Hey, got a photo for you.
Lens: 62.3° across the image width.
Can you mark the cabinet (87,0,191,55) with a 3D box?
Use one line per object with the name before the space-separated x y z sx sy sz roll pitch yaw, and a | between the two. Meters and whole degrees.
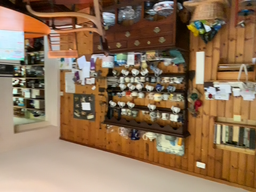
cabinet | 0.110 -1.010 2.980 1.350 0.720 0.570 4 -174 35
